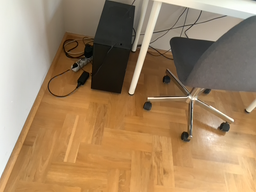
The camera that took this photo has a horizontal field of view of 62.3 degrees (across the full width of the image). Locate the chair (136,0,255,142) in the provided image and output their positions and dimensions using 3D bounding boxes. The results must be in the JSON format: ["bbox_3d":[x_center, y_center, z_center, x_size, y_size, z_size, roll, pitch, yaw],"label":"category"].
[{"bbox_3d":[0.500,-0.230,1.240,0.680,0.840,0.660,2,50,-11],"label":"chair"}]
